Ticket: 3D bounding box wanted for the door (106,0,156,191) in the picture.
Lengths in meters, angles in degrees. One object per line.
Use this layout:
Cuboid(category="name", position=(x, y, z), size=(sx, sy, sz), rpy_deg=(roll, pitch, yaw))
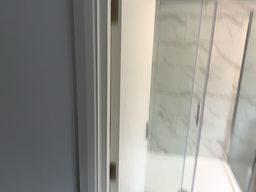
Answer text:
Cuboid(category="door", position=(0.030, 0.310, 1.330), size=(0.030, 1.990, 0.790), rpy_deg=(7, 17, 16))
